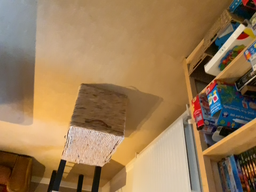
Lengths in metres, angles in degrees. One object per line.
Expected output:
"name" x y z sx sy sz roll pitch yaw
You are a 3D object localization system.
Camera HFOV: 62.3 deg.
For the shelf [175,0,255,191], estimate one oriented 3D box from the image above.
"shelf" 0.710 -0.060 0.970 0.440 1.140 0.950 16 141 -15
